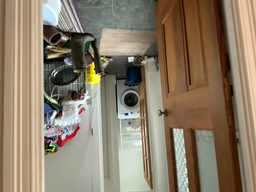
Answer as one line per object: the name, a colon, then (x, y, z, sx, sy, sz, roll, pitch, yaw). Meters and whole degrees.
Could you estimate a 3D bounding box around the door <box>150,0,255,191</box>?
door: (0.370, 0.140, 1.200, 0.150, 2.080, 0.830, -2, 174, -9)
